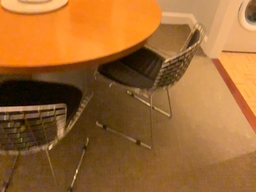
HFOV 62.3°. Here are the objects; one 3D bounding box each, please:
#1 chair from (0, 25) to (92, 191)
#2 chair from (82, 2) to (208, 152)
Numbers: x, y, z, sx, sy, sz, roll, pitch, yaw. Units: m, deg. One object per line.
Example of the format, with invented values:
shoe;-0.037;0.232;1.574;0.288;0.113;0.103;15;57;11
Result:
chair;-0.460;0.140;1.050;0.420;0.730;0.570;7;42;1
chair;0.070;-0.120;1.390;0.570;0.730;0.390;27;46;22
